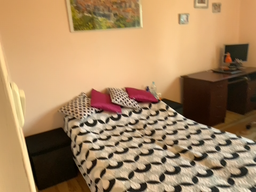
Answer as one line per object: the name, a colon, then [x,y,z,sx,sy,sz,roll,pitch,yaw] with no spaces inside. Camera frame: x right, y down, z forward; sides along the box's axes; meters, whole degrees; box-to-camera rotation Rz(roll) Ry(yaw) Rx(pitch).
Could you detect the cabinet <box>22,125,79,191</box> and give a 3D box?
cabinet: [-0.840,0.640,2.290,0.430,0.440,0.420,-14,20,-30]
